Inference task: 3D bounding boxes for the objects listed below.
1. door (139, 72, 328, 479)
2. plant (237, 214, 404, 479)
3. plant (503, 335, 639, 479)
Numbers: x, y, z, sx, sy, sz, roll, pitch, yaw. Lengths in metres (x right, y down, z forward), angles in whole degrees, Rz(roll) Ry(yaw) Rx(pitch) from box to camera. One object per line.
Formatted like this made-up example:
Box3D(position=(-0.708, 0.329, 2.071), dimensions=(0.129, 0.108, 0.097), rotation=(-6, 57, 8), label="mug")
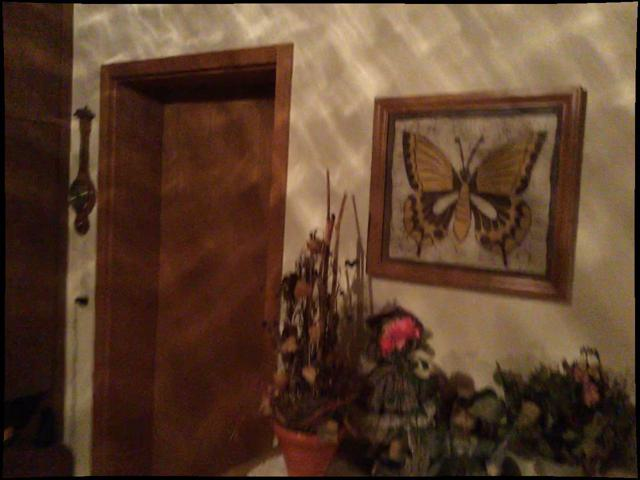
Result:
Box3D(position=(-0.400, 0.340, 2.350), dimensions=(0.829, 1.942, 0.090), rotation=(7, 6, 33), label="door")
Box3D(position=(0.000, 0.270, 1.510), dimensions=(0.310, 0.651, 0.250), rotation=(7, 6, 33), label="plant")
Box3D(position=(0.579, 0.470, 1.310), dimensions=(0.240, 0.420, 0.280), rotation=(7, 6, 33), label="plant")
